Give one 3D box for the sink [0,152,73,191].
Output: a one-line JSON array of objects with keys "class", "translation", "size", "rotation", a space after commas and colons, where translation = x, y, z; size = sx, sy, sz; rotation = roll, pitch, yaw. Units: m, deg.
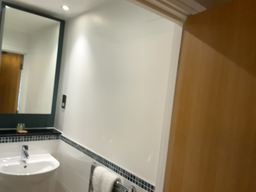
[{"class": "sink", "translation": [-0.860, 0.670, 1.880], "size": [0.580, 0.170, 0.410], "rotation": [5, 2, -41]}]
